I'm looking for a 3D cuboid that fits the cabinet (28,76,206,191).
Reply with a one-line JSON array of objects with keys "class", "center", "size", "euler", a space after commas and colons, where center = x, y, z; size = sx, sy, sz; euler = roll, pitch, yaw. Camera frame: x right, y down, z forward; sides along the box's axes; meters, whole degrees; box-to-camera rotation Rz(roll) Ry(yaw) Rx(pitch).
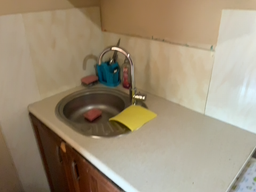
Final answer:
[{"class": "cabinet", "center": [-0.080, 0.460, 1.380], "size": [0.790, 0.860, 0.620], "euler": [24, 36, 39]}]
